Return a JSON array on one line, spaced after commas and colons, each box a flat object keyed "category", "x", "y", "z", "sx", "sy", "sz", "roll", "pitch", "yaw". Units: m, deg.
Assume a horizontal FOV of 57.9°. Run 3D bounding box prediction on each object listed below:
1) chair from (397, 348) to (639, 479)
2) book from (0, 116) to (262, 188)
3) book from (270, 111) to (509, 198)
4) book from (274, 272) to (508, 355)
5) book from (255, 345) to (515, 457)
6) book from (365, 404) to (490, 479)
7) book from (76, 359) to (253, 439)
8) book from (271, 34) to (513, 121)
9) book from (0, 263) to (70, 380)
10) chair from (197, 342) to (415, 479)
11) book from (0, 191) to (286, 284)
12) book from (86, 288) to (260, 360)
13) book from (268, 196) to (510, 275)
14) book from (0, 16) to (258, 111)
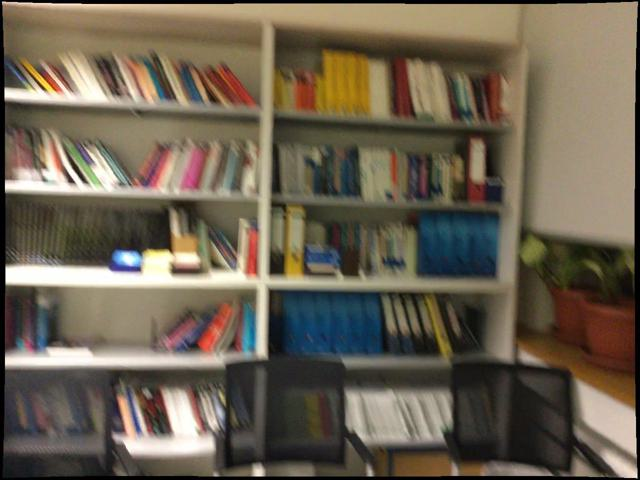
[{"category": "chair", "x": 0.659, "y": 0.911, "z": 2.110, "sx": 0.639, "sy": 0.871, "sz": 0.620, "roll": 1, "pitch": 5, "yaw": -3}, {"category": "book", "x": -0.849, "y": -0.400, "z": 2.710, "sx": 1.139, "sy": 0.280, "sz": 0.250, "roll": 1, "pitch": 5, "yaw": -8}, {"category": "book", "x": 0.320, "y": -0.400, "z": 2.820, "sx": 1.099, "sy": 0.360, "sz": 0.320, "roll": 1, "pitch": 5, "yaw": -8}, {"category": "book", "x": 0.330, "y": 0.350, "z": 2.860, "sx": 1.089, "sy": 0.330, "sz": 0.340, "roll": 1, "pitch": 5, "yaw": -8}, {"category": "book", "x": 0.280, "y": 0.761, "z": 2.830, "sx": 1.179, "sy": 0.360, "sz": 0.470, "roll": 1, "pitch": 5, "yaw": -8}, {"category": "book", "x": 0.509, "y": 1.061, "z": 2.850, "sx": 0.490, "sy": 0.350, "sz": 0.410, "roll": 1, "pitch": 5, "yaw": -8}, {"category": "book", "x": -0.719, "y": 0.751, "z": 2.780, "sx": 0.779, "sy": 0.260, "sz": 0.310, "roll": 1, "pitch": 5, "yaw": -8}, {"category": "book", "x": 0.330, "y": -0.771, "z": 2.810, "sx": 1.109, "sy": 0.300, "sz": 0.330, "roll": 1, "pitch": 5, "yaw": -8}, {"category": "book", "x": -1.319, "y": 0.350, "z": 2.630, "sx": 0.220, "sy": 0.440, "sz": 0.420, "roll": 1, "pitch": 5, "yaw": -8}, {"category": "chair", "x": -0.090, "y": 0.891, "z": 2.090, "sx": 0.639, "sy": 0.861, "sz": 0.740, "roll": 1, "pitch": 5, "yaw": -8}, {"category": "book", "x": -0.789, "y": -0.020, "z": 2.650, "sx": 1.229, "sy": 0.370, "sz": 0.430, "roll": 1, "pitch": 5, "yaw": -8}, {"category": "book", "x": -0.659, "y": 0.380, "z": 2.710, "sx": 0.739, "sy": 0.250, "sz": 0.360, "roll": 1, "pitch": 5, "yaw": -8}, {"category": "book", "x": 0.310, "y": -0.030, "z": 2.810, "sx": 1.099, "sy": 0.340, "sz": 0.370, "roll": 1, "pitch": 5, "yaw": -8}, {"category": "book", "x": -0.859, "y": -0.801, "z": 2.690, "sx": 1.119, "sy": 0.300, "sz": 0.380, "roll": 1, "pitch": 5, "yaw": -8}]
